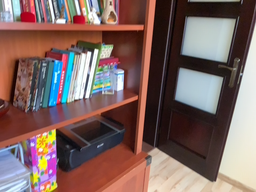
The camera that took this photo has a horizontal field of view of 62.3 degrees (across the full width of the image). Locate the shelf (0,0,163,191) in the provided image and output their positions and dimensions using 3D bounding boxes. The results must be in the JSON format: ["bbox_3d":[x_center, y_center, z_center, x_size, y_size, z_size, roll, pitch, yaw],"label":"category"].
[{"bbox_3d":[-0.360,-0.140,0.970,0.470,1.120,1.030,20,25,38],"label":"shelf"}]
